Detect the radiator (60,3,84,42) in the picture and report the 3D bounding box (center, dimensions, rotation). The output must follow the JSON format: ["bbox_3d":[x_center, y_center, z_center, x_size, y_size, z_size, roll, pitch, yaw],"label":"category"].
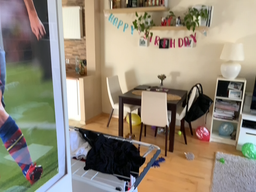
[{"bbox_3d":[-1.140,-1.480,4.320,0.420,0.710,0.180,7,16,21],"label":"radiator"}]

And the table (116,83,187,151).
[{"bbox_3d":[0.430,0.280,3.640,0.950,0.770,0.910,8,16,22],"label":"table"}]

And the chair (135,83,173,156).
[{"bbox_3d":[0.400,0.320,3.210,0.460,0.920,0.570,5,15,12],"label":"chair"}]
